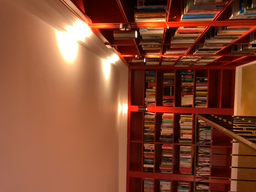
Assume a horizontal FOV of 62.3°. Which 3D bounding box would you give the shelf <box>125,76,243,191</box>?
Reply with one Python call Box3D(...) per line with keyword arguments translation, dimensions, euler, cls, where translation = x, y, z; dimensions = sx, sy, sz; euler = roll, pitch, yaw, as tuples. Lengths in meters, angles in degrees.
Box3D(translation=(0.980, 2.540, 4.180), dimensions=(0.450, 2.060, 5.810), euler=(-15, -74, -83), cls="shelf")
